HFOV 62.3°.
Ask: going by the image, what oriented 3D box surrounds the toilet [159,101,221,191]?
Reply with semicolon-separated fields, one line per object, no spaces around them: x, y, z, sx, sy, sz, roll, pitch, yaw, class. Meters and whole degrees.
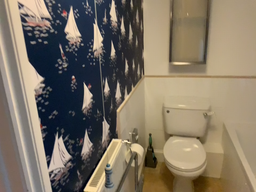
0.540;0.510;1.990;0.440;0.730;0.670;1;19;13;toilet
